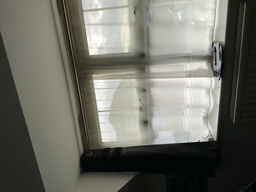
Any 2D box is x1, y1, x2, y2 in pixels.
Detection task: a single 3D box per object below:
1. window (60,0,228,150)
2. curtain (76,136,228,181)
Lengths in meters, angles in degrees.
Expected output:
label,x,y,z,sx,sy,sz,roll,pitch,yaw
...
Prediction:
label,x,y,z,sx,sy,sz,roll,pitch,yaw
window,0.140,-0.210,1.690,0.120,1.140,1.400,-89,-5,-67
curtain,0.190,0.520,1.770,0.140,1.180,0.280,-89,-5,-68
